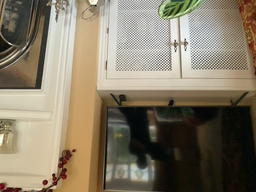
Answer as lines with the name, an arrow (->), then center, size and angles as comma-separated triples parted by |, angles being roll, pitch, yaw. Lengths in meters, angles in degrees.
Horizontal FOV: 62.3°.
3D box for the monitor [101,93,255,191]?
monitor -> 0.400, 0.340, 1.610 | 1.180, 0.720, 0.060 | 0, 165, 8
